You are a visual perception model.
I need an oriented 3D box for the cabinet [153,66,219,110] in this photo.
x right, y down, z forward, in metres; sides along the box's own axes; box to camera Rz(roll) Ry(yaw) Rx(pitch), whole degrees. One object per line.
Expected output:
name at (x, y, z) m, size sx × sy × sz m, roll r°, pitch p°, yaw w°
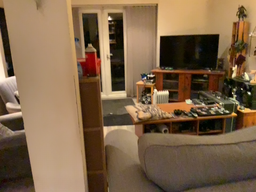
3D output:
cabinet at (1.200, -0.210, 4.460) m, size 1.220 × 0.710 × 0.600 m, roll 6°, pitch 17°, yaw 24°

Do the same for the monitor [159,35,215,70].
monitor at (1.160, -0.870, 4.280) m, size 1.070 × 0.660 × 0.040 m, roll 4°, pitch 17°, yaw 20°

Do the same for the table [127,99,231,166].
table at (0.590, 0.420, 2.680) m, size 1.110 × 0.540 × 0.570 m, roll -4°, pitch 16°, yaw -9°
